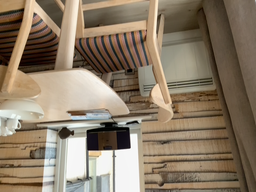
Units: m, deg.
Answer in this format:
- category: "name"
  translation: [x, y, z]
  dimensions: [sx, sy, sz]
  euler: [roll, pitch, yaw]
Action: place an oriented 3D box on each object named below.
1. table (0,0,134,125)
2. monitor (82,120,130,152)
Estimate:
- category: "table"
  translation: [-0.850, -0.260, 1.560]
  dimensions: [1.620, 0.750, 0.960]
  euler: [-5, 162, 11]
- category: "monitor"
  translation: [-0.190, 0.340, 1.830]
  dimensions: [0.390, 0.230, 0.030]
  euler: [4, 165, 14]
